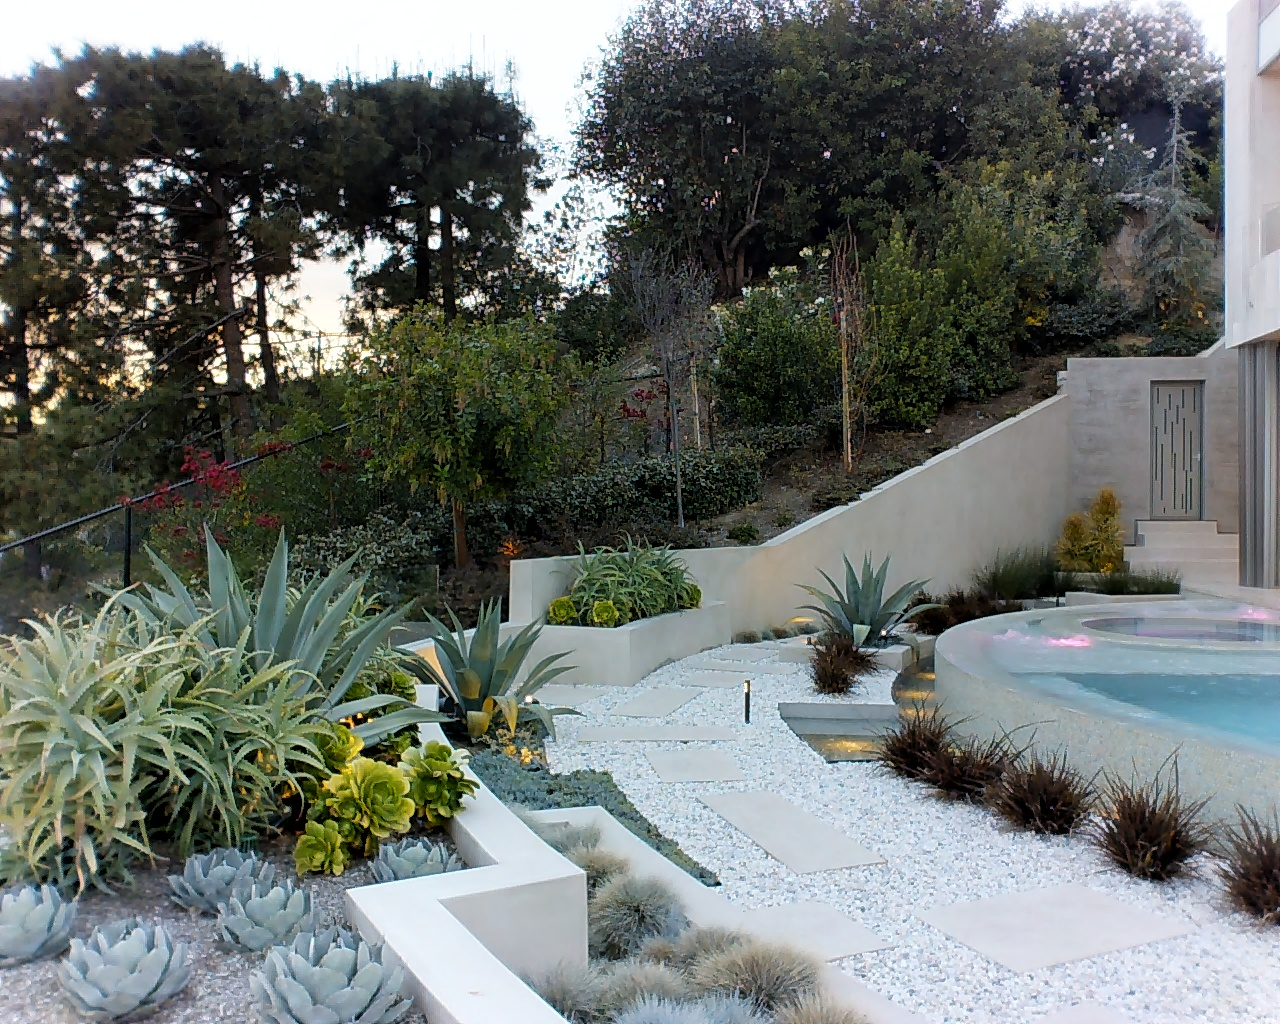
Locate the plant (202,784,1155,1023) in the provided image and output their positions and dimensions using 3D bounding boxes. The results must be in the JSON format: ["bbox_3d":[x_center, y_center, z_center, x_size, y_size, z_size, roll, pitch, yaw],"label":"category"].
[{"bbox_3d":[-0.050,1.350,3.390,2.890,0.330,1.040,0,1,34],"label":"plant"}]

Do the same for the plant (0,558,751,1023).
[{"bbox_3d":[-1.300,0.690,2.880,1.620,0.930,3.380,0,1,-26],"label":"plant"}]

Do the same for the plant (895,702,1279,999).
[{"bbox_3d":[2.130,1.360,4.870,0.800,0.530,2.380,0,1,-17],"label":"plant"}]
